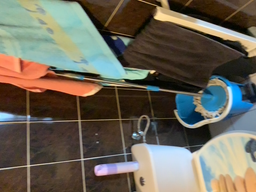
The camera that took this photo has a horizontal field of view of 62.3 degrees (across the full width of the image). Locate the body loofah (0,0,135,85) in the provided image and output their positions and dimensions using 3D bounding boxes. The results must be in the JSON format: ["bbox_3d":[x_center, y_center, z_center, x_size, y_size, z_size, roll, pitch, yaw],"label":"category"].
[{"bbox_3d":[-0.460,-0.210,0.680,0.250,0.950,0.210,-38,56,52],"label":"body loofah"}]

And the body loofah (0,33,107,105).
[{"bbox_3d":[-0.570,-0.110,0.890,0.230,0.930,0.220,-37,57,52],"label":"body loofah"}]
